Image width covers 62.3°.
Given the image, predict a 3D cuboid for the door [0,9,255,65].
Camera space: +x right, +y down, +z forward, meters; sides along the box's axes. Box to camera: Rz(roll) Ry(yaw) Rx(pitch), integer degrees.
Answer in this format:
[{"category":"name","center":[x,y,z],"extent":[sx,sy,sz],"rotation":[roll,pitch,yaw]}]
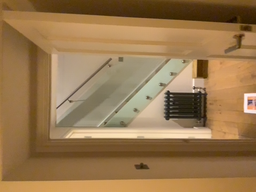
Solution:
[{"category":"door","center":[0.390,-0.320,1.380],"extent":[0.730,2.010,0.060],"rotation":[169,102,-84]}]

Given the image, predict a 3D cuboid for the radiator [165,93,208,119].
[{"category":"radiator","center":[0.920,0.160,3.320],"extent":[0.090,0.660,0.400],"rotation":[173,98,-84]}]
